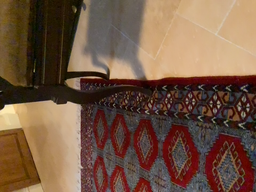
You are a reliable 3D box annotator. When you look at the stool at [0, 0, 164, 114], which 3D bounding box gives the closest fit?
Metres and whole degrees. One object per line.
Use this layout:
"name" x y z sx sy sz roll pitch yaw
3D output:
"stool" -0.210 -0.290 0.850 0.370 0.580 0.580 22 109 47
